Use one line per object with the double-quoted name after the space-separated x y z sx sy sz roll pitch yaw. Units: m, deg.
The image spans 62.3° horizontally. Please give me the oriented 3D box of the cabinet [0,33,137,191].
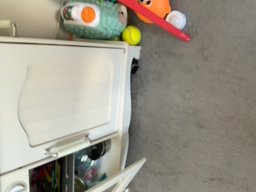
-0.260 0.120 0.740 0.270 0.490 0.620 18 109 37 "cabinet"
